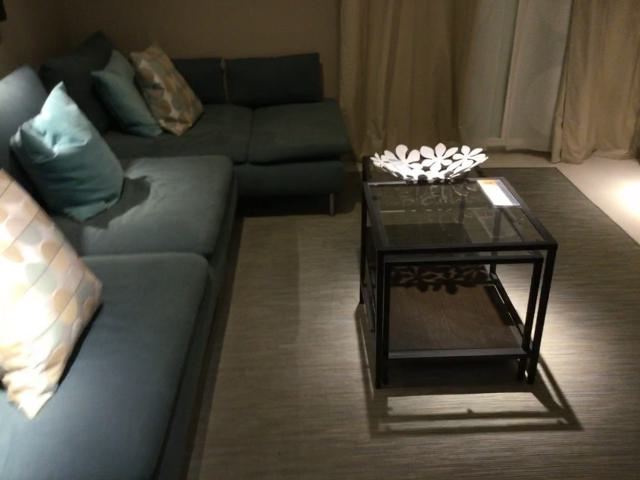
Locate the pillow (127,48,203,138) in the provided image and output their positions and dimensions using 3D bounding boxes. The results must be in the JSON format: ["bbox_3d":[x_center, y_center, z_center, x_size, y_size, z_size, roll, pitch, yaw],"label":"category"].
[{"bbox_3d":[-0.770,-0.740,2.910,0.260,0.380,0.200,-4,26,3],"label":"pillow"}]

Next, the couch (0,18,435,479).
[{"bbox_3d":[-0.580,-0.220,2.210,1.480,0.780,2.800,-5,26,1],"label":"couch"}]

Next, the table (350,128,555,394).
[{"bbox_3d":[0.400,0.010,2.090,0.510,0.540,0.940,-4,26,3],"label":"table"}]

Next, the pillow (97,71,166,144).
[{"bbox_3d":[-0.920,-0.650,2.840,0.230,0.310,0.130,-4,26,3],"label":"pillow"}]

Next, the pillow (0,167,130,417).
[{"bbox_3d":[-0.720,0.100,1.350,0.320,0.370,0.490,-4,26,3],"label":"pillow"}]

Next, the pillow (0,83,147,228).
[{"bbox_3d":[-0.910,-0.330,2.170,0.310,0.390,0.460,-4,26,3],"label":"pillow"}]
